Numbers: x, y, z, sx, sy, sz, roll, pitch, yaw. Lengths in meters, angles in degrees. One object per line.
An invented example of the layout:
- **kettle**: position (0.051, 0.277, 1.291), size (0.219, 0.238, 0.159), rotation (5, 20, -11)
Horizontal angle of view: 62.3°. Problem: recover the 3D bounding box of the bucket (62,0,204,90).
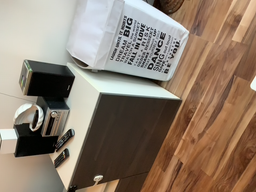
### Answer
- **bucket**: position (0.040, -0.350, 1.320), size (0.380, 0.690, 0.450), rotation (40, 115, 43)
